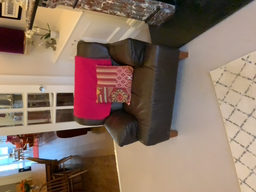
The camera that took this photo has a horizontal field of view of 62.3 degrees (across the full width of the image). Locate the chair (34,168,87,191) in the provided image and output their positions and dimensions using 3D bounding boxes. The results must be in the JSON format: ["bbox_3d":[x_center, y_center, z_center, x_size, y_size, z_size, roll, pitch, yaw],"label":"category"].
[{"bbox_3d":[-1.360,1.790,4.260,0.550,0.860,0.490,-32,65,54],"label":"chair"}]

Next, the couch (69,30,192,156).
[{"bbox_3d":[-0.070,-0.120,2.180,1.030,0.740,0.950,23,111,55],"label":"couch"}]
